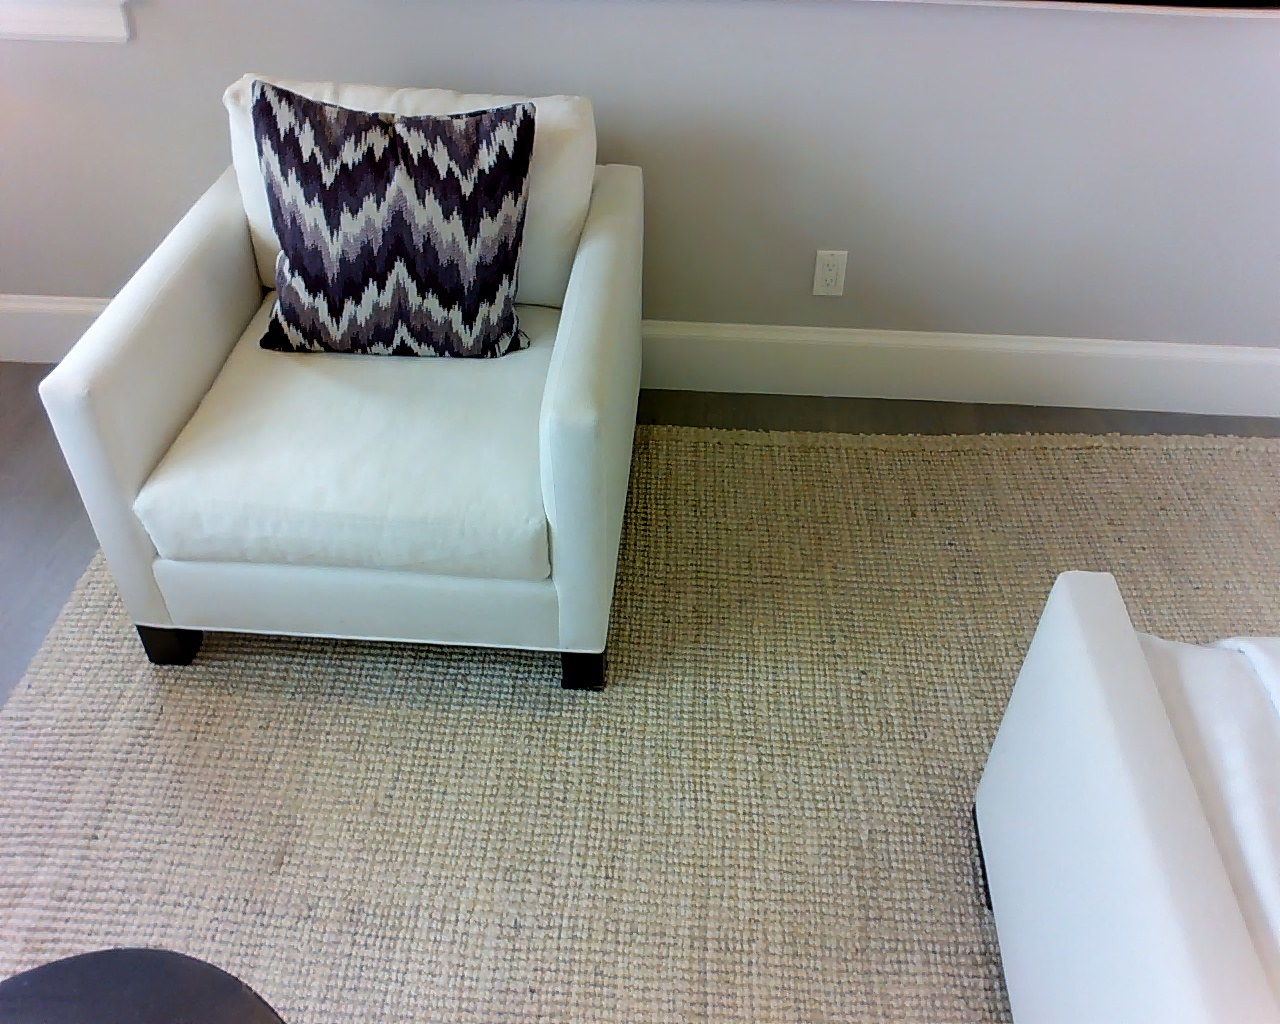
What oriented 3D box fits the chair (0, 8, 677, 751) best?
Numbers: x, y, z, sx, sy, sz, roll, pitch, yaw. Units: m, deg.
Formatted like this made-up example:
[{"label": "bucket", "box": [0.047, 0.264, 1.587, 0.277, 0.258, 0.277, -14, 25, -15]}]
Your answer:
[{"label": "chair", "box": [-0.460, -0.290, 2.040, 1.000, 0.910, 1.070, 3, 41, 1]}]
